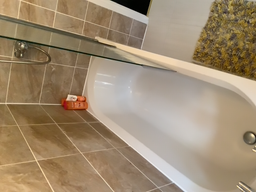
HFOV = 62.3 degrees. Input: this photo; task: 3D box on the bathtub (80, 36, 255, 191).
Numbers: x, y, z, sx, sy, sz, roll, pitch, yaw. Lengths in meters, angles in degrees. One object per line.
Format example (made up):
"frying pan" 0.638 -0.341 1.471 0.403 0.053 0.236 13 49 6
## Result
"bathtub" 0.340 0.060 1.580 1.640 0.580 0.660 28 109 45
